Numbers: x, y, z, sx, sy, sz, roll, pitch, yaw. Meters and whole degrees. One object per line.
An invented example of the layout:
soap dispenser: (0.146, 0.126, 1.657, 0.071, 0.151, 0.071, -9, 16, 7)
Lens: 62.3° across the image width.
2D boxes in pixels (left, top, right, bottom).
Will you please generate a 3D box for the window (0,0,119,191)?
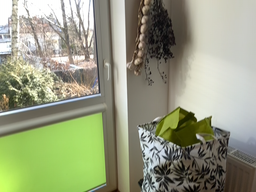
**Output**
window: (-0.640, -0.210, 1.220, 1.230, 2.470, 0.240, -15, 22, -39)
